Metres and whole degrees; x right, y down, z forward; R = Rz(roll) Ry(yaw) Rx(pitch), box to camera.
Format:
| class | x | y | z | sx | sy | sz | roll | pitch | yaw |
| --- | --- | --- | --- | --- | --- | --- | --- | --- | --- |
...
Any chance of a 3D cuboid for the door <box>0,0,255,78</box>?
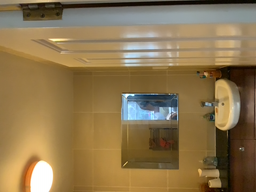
| class | x | y | z | sx | sy | sz | roll | pitch | yaw |
| --- | --- | --- | --- | --- | --- | --- | --- | --- | --- |
| door | 0.620 | -0.150 | 0.690 | 0.750 | 2.050 | 0.050 | 44 | -134 | -86 |

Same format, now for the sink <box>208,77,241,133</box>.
| class | x | y | z | sx | sy | sz | roll | pitch | yaw |
| --- | --- | --- | --- | --- | --- | --- | --- | --- | --- |
| sink | 0.920 | 0.080 | 2.050 | 0.400 | 0.150 | 0.490 | -13 | -78 | -87 |
